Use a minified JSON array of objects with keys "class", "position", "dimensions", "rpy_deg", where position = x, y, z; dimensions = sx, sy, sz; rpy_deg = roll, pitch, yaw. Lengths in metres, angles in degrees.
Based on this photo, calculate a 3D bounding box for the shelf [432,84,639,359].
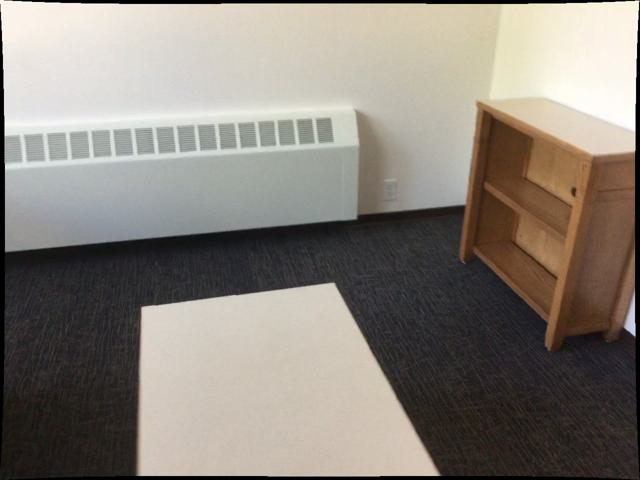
[{"class":"shelf","position":[0.849,-0.140,2.370],"dimensions":[0.359,0.771,0.940],"rpy_deg":[-6,28,-11]}]

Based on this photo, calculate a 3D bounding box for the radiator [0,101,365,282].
[{"class":"radiator","position":[-0.819,-0.220,2.610],"dimensions":[2.047,0.641,0.220],"rpy_deg":[-6,28,-11]}]
